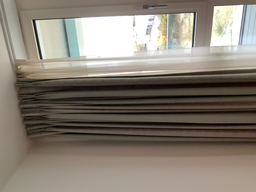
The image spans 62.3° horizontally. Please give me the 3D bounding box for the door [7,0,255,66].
[{"bbox_3d":[0.360,-0.900,1.500,0.080,2.500,1.290,-87,-5,-70],"label":"door"}]
